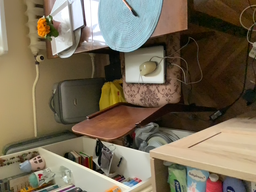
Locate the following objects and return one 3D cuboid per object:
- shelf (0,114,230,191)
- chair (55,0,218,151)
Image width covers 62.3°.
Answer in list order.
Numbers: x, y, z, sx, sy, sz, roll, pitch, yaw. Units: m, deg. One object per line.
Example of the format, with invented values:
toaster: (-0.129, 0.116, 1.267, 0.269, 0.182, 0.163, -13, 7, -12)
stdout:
shelf: (-0.460, 0.480, 0.950, 0.960, 2.160, 0.400, 2, 96, 46)
chair: (0.110, -0.120, 1.230, 0.450, 0.850, 0.580, 0, 95, 46)
